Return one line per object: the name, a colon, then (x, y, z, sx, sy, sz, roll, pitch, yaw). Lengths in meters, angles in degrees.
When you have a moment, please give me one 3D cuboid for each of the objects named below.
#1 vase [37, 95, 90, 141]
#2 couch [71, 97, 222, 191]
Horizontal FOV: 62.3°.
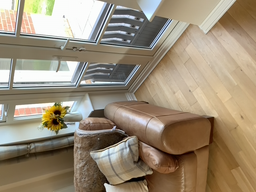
vase: (-0.710, 0.230, 2.300, 0.330, 0.420, 0.320, -53, 53, 41)
couch: (0.090, 0.890, 1.910, 0.960, 0.860, 1.600, 12, 103, 52)
